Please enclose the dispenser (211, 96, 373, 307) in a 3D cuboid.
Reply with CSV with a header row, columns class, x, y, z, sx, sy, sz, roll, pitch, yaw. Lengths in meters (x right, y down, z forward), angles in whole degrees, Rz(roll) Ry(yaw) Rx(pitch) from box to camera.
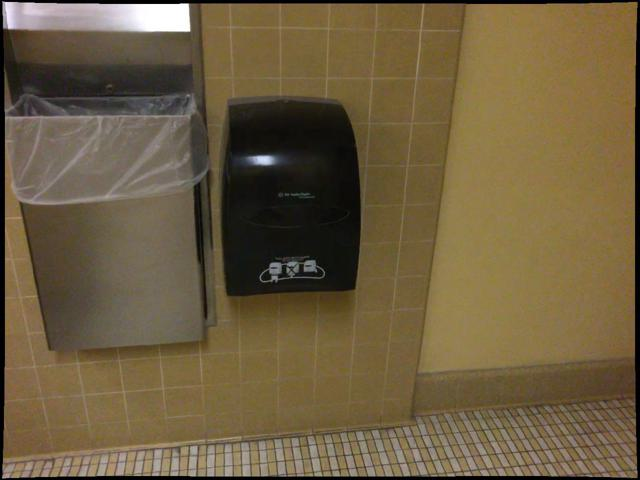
class,x,y,z,sx,sy,sz,roll,pitch,yaw
dispenser,-0.080,-0.100,1.350,0.319,0.411,0.260,-3,26,-11
